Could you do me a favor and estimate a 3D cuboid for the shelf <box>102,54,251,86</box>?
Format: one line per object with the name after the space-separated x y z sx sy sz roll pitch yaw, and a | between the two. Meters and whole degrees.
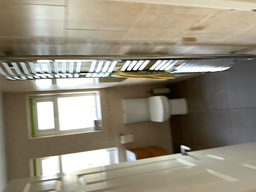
0.410 -0.220 1.840 0.450 1.190 0.150 160 106 -72 | shelf

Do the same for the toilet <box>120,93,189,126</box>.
0.360 0.190 3.120 0.680 0.770 0.390 166 100 -73 | toilet
